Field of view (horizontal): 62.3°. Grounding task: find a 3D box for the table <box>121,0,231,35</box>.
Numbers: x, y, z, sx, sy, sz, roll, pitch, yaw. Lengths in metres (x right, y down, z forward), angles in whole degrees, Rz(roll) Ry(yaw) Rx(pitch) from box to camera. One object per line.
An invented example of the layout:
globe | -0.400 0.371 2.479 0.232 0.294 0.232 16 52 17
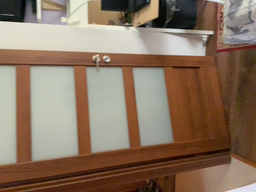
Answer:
table | 0.390 -1.020 1.870 0.680 0.700 0.810 -157 67 -67
